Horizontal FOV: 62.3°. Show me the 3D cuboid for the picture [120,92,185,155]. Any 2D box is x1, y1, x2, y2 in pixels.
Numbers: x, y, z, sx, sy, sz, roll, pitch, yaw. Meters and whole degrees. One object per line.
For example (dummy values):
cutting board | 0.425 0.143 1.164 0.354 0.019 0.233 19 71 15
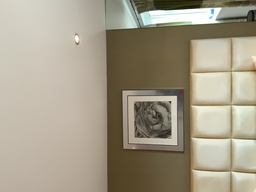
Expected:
picture | 0.240 0.270 2.120 0.040 0.630 0.610 -30 -60 -77
